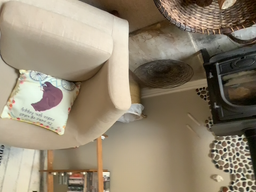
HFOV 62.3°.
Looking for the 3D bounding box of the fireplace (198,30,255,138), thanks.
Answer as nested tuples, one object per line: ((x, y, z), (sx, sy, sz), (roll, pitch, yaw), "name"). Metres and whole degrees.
((0.820, -0.050, 1.500), (0.480, 0.560, 0.520), (-10, 155, 25), "fireplace")

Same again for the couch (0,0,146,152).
((-0.480, -0.140, 1.240), (0.840, 0.750, 0.840), (13, 154, -25), "couch")
